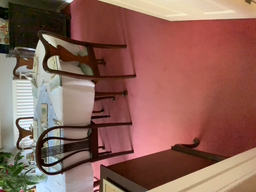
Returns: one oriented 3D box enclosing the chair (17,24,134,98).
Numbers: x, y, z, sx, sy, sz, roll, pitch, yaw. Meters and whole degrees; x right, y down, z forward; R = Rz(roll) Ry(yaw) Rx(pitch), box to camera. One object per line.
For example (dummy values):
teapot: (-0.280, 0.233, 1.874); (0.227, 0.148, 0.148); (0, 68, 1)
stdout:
chair: (-0.530, -0.300, 2.200); (0.540, 0.990, 0.450); (-34, 65, 47)

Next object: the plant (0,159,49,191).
plant: (-1.110, 0.880, 2.140); (0.460, 0.460, 0.320); (-6, 87, 52)
